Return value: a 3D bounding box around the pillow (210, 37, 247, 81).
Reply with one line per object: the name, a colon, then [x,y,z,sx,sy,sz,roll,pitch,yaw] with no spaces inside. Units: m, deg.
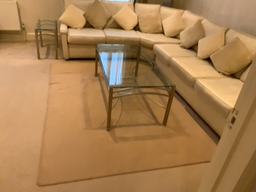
pillow: [1.210,-0.460,2.580,0.160,0.370,0.420,-26,38,-4]
